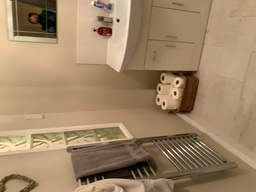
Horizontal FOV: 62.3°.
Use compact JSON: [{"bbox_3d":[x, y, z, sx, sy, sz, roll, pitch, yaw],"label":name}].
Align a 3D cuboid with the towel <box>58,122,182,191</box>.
[{"bbox_3d":[-0.090,0.360,1.250,0.520,0.580,0.150,-136,49,-61],"label":"towel"}]
